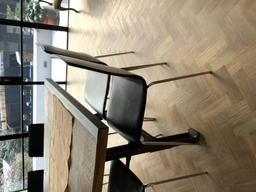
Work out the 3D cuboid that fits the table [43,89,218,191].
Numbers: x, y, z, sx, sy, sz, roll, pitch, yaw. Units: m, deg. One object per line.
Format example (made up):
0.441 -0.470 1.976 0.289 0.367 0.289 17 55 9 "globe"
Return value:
-0.170 0.970 1.730 0.970 0.790 1.830 31 118 51 "table"
